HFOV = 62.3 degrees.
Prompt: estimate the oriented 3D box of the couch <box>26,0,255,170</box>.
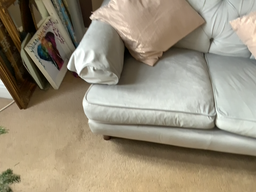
[{"bbox_3d":[0.470,-0.280,1.240,1.460,0.840,1.050,6,50,2],"label":"couch"}]
